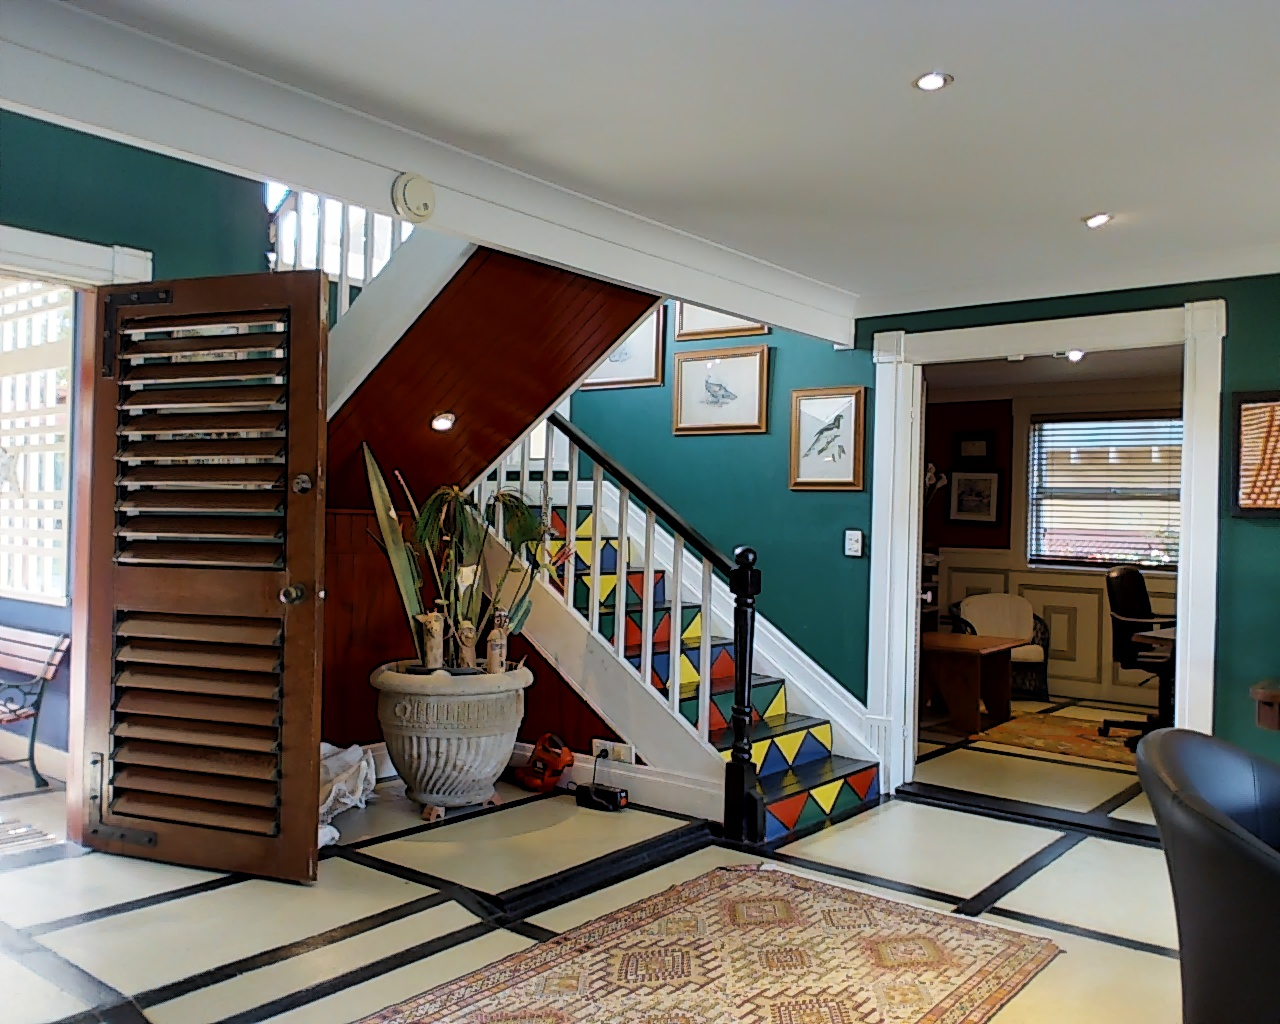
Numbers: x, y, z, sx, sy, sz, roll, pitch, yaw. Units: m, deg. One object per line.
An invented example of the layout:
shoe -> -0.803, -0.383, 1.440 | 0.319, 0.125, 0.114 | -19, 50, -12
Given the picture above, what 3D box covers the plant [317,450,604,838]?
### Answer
plant -> -0.770, 0.500, 4.670 | 0.820, 1.470, 0.860 | 2, 0, 39
